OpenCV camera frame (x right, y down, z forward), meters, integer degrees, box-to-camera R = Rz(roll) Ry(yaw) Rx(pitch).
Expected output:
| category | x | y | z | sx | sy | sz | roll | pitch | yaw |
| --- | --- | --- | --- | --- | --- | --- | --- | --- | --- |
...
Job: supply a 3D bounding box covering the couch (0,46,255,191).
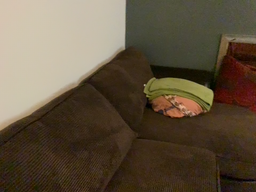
| category | x | y | z | sx | sy | sz | roll | pitch | yaw |
| --- | --- | --- | --- | --- | --- | --- | --- | --- | --- |
| couch | 0.090 | 0.320 | 1.460 | 1.020 | 0.860 | 2.260 | 8 | 24 | 15 |
